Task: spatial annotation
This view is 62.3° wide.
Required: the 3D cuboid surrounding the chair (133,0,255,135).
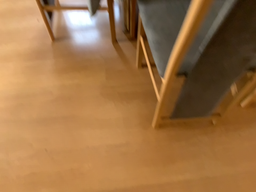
[{"bbox_3d":[0.270,-0.260,0.730,0.410,1.030,0.460,-8,64,-4],"label":"chair"}]
